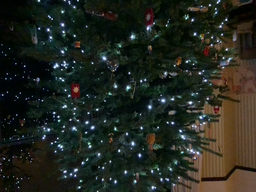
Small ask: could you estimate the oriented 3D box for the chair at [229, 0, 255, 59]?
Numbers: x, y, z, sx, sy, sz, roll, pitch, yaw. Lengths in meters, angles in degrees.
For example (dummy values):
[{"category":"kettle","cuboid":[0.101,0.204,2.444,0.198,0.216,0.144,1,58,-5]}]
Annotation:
[{"category":"chair","cuboid":[1.830,-1.060,3.300,0.340,0.870,0.420,-1,-179,40]}]
